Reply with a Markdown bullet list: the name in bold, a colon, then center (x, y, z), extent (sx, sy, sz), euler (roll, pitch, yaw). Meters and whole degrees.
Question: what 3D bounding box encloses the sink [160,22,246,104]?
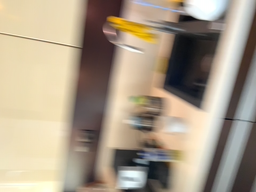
- **sink**: center (0.400, -0.210, 1.250), extent (0.440, 0.170, 0.380), euler (-136, 55, -68)
